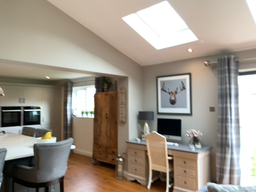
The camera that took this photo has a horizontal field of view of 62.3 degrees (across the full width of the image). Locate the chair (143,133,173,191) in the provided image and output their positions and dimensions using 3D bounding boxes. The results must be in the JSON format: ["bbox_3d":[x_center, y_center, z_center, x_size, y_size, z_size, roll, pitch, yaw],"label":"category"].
[{"bbox_3d":[0.550,1.180,3.840,0.410,0.930,0.420,-1,-2,26],"label":"chair"}]

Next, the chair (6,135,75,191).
[{"bbox_3d":[-1.070,1.060,2.620,0.590,1.040,0.560,-1,-2,36],"label":"chair"}]

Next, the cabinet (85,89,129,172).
[{"bbox_3d":[-0.540,0.780,5.210,1.070,1.820,0.440,-1,-2,39],"label":"cabinet"}]

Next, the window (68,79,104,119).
[{"bbox_3d":[-1.310,0.100,6.420,1.510,1.110,0.220,-2,-2,43],"label":"window"}]
